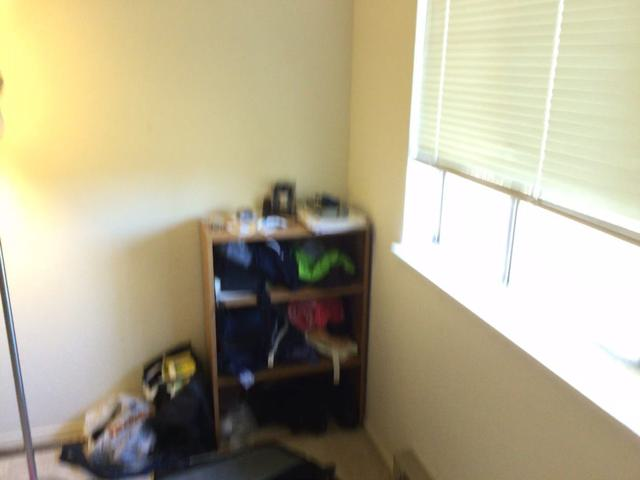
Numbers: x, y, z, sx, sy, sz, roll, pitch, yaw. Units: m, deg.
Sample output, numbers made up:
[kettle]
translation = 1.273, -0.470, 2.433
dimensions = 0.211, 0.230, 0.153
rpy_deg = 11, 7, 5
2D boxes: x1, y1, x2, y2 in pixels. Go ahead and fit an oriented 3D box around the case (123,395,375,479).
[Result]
[case]
translation = -0.230, 0.870, 1.960
dimensions = 0.690, 0.190, 0.760
rpy_deg = -8, 18, -28
